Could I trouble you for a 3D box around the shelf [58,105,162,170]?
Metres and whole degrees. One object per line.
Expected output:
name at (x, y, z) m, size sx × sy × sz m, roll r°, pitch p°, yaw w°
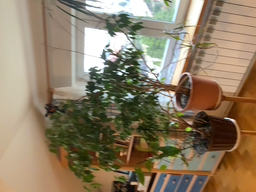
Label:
shelf at (-0.230, 0.520, 2.610) m, size 0.420 × 1.120 × 0.600 m, roll -95°, pitch 13°, yaw -54°
